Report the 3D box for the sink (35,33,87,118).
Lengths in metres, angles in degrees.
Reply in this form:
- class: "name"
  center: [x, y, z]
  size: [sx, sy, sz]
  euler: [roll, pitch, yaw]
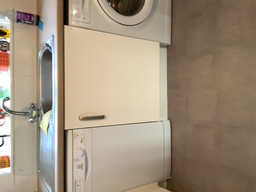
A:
- class: "sink"
  center: [-0.490, -0.120, 1.490]
  size: [0.520, 0.200, 0.490]
  euler: [1, 92, 56]
